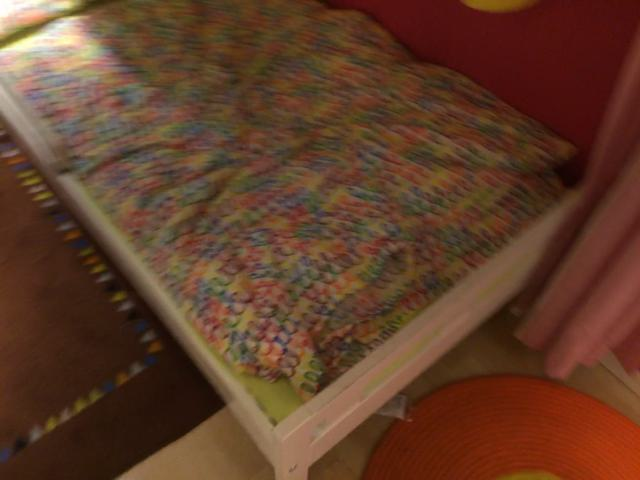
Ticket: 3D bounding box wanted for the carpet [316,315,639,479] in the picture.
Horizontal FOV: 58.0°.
[{"bbox_3d":[0.420,0.580,1.080,0.710,0.050,0.700,-30,59,-23],"label":"carpet"}]
